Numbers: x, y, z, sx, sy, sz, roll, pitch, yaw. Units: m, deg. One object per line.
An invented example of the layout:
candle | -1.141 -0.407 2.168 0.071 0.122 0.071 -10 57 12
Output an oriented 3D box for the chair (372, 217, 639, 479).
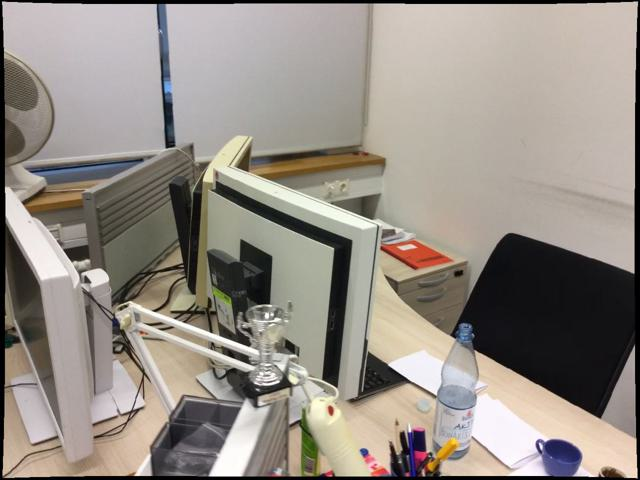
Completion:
chair | 0.499 0.460 1.610 0.480 0.871 0.500 -14 26 -31
